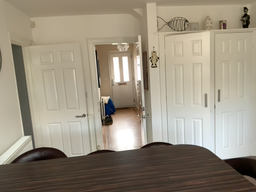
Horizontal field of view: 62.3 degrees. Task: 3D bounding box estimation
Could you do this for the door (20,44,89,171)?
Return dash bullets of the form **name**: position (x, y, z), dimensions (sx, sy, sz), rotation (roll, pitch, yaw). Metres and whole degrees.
- **door**: position (-1.130, 0.200, 3.390), dimensions (0.830, 1.970, 0.170), rotation (-4, 9, -2)
